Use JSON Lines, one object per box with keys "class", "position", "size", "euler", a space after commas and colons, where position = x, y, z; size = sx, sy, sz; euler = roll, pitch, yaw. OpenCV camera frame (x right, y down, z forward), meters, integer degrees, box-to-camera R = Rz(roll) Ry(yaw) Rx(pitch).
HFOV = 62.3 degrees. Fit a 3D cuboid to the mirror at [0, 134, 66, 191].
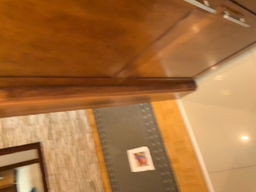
{"class": "mirror", "position": [-1.290, 0.740, 1.850], "size": [0.100, 1.440, 0.570], "euler": [-30, 71, 45]}
